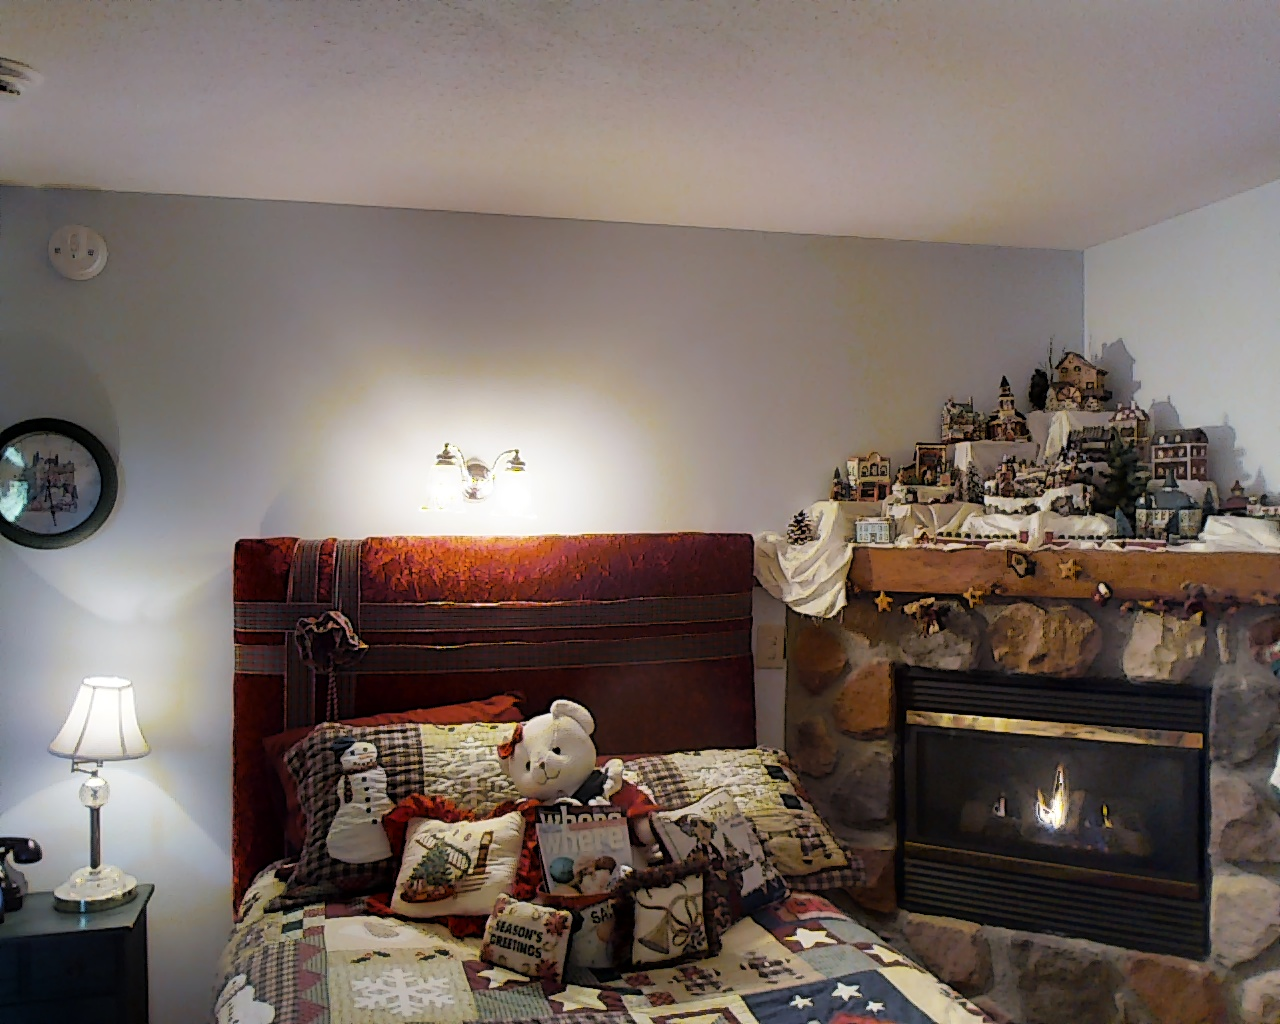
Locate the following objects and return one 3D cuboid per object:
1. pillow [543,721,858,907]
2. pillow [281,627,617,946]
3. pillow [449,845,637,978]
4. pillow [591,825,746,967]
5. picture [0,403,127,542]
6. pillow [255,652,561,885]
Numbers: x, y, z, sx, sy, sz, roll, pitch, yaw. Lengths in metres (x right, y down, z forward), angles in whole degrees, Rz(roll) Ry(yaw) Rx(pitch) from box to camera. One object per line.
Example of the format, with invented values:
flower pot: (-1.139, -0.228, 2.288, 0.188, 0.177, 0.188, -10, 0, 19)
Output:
pillow: (0.130, 0.720, 2.660, 0.670, 0.290, 0.450, 0, 0, -15)
pillow: (-0.460, 0.660, 2.630, 0.690, 0.390, 0.220, 41, -10, -11)
pillow: (-0.190, 0.790, 2.160, 0.270, 0.130, 0.270, 0, 0, 30)
pillow: (0.060, 0.760, 2.160, 0.290, 0.180, 0.140, 0, 0, -40)
picture: (-1.520, -0.100, 2.780, 0.350, 0.350, 0.050, 0, 0, -15)
pillow: (-0.600, 0.660, 2.800, 0.660, 0.380, 0.240, 23, -11, -16)
